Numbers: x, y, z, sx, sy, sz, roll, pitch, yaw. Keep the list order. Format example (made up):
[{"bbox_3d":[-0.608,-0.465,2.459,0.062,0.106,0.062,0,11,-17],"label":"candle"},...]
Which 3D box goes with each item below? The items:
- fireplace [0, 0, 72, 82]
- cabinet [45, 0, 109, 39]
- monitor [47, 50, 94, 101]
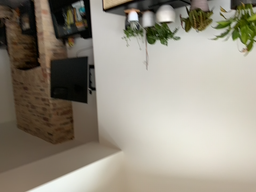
[{"bbox_3d":[-1.860,-1.060,4.140,1.760,1.510,0.500,5,-169,43],"label":"fireplace"},{"bbox_3d":[-0.780,-1.340,3.090,0.980,0.860,0.400,5,-169,43],"label":"cabinet"},{"bbox_3d":[-0.880,-0.250,3.100,0.070,0.630,1.140,-10,-174,-43],"label":"monitor"}]
